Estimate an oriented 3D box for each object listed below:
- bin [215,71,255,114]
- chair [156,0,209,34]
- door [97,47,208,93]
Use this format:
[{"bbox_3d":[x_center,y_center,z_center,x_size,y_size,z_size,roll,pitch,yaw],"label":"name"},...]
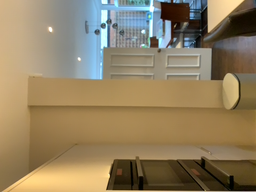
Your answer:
[{"bbox_3d":[1.250,-0.030,2.060,0.390,0.640,0.380,-113,23,-89],"label":"bin"},{"bbox_3d":[1.100,-1.630,4.410,0.570,0.950,0.510,133,138,-89],"label":"chair"},{"bbox_3d":[0.470,-0.500,4.130,0.130,2.110,0.870,-100,10,-87],"label":"door"}]
